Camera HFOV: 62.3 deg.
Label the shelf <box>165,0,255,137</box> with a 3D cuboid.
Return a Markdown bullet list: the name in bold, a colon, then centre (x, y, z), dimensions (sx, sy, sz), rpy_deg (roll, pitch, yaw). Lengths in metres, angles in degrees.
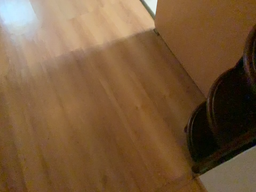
- **shelf**: centre (0.420, -0.200, 0.790), dimensions (0.300, 0.970, 0.310), rpy_deg (-24, 64, -13)
